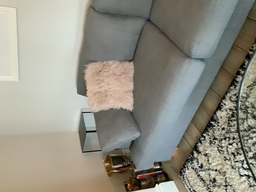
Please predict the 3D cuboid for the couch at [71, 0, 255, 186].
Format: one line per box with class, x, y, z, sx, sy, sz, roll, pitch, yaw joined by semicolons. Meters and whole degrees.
couch;0.180;-0.530;1.660;1.100;0.840;2.360;-118;36;-47
